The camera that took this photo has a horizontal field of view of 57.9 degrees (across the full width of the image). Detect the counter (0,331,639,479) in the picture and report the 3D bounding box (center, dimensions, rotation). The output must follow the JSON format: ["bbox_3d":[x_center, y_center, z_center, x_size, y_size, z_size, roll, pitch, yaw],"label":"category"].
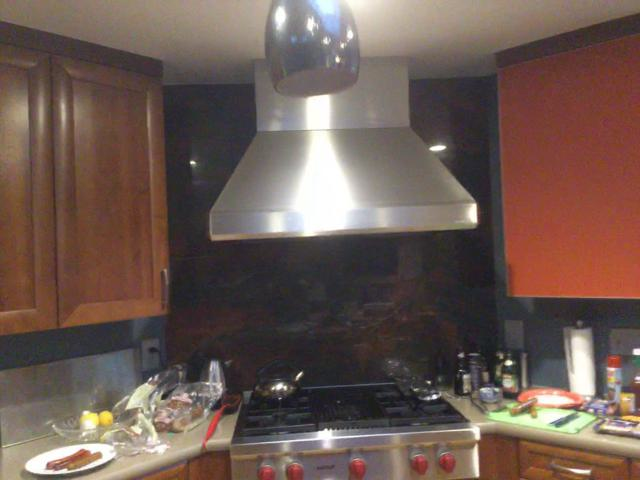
[{"bbox_3d":[0.640,0.640,1.150,3.870,0.250,2.560,-2,0,43],"label":"counter"}]
